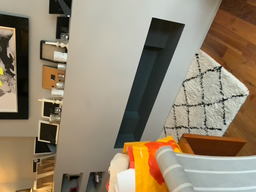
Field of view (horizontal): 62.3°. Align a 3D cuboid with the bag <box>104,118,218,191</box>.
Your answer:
[{"bbox_3d":[0.140,0.490,1.310,0.520,0.420,0.450,-110,31,-49],"label":"bag"}]
